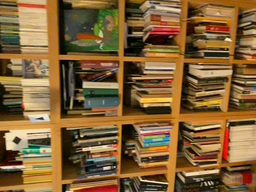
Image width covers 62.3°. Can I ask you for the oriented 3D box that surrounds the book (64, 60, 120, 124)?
[{"bbox_3d":[-0.260,-0.040,1.490,0.300,0.350,0.390,-156,66,-74],"label":"book"}]

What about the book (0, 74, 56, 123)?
[{"bbox_3d":[-0.660,0.000,1.400,0.310,0.320,0.280,-156,66,-74],"label":"book"}]
